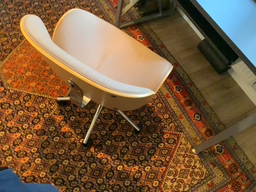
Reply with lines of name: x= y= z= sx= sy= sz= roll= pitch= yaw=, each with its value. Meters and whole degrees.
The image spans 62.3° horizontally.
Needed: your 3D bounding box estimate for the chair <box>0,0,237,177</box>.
chair: x=-0.080 y=-0.100 z=1.090 sx=0.620 sy=0.840 sz=0.620 roll=37 pitch=62 yaw=9
